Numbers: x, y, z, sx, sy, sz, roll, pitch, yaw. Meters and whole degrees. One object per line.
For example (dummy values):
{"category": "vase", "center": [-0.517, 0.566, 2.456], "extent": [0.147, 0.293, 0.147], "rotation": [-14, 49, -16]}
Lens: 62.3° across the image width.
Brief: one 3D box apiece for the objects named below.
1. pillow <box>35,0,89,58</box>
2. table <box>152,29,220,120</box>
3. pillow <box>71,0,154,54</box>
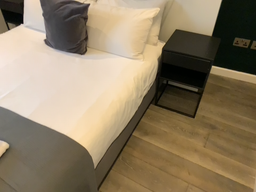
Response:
{"category": "pillow", "center": [-0.520, -0.570, 1.730], "extent": [0.310, 0.410, 0.240], "rotation": [16, 33, 19]}
{"category": "table", "center": [0.510, -0.190, 1.950], "extent": [0.400, 0.650, 0.380], "rotation": [19, 45, 19]}
{"category": "pillow", "center": [-0.130, -0.580, 1.720], "extent": [0.590, 0.370, 0.170], "rotation": [12, 2, 20]}
